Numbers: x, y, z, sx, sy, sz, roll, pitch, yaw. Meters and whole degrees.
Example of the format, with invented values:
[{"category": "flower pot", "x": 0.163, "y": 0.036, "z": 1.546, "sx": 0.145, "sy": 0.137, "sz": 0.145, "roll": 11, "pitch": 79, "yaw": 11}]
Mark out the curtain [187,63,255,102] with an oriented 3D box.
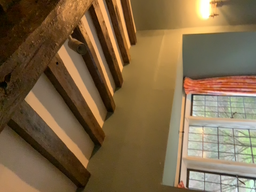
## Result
[{"category": "curtain", "x": 1.560, "y": -0.210, "z": 3.220, "sx": 0.340, "sy": 1.270, "sz": 0.450, "roll": -70, "pitch": -25, "yaw": -43}]
